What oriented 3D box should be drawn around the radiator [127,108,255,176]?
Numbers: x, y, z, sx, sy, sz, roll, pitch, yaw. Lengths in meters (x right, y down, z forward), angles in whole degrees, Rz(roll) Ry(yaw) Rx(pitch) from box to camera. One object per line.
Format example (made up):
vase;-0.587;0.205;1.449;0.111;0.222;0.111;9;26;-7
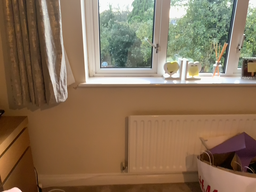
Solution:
radiator;0.580;0.370;1.720;1.160;0.520;0.090;-1;20;-6
